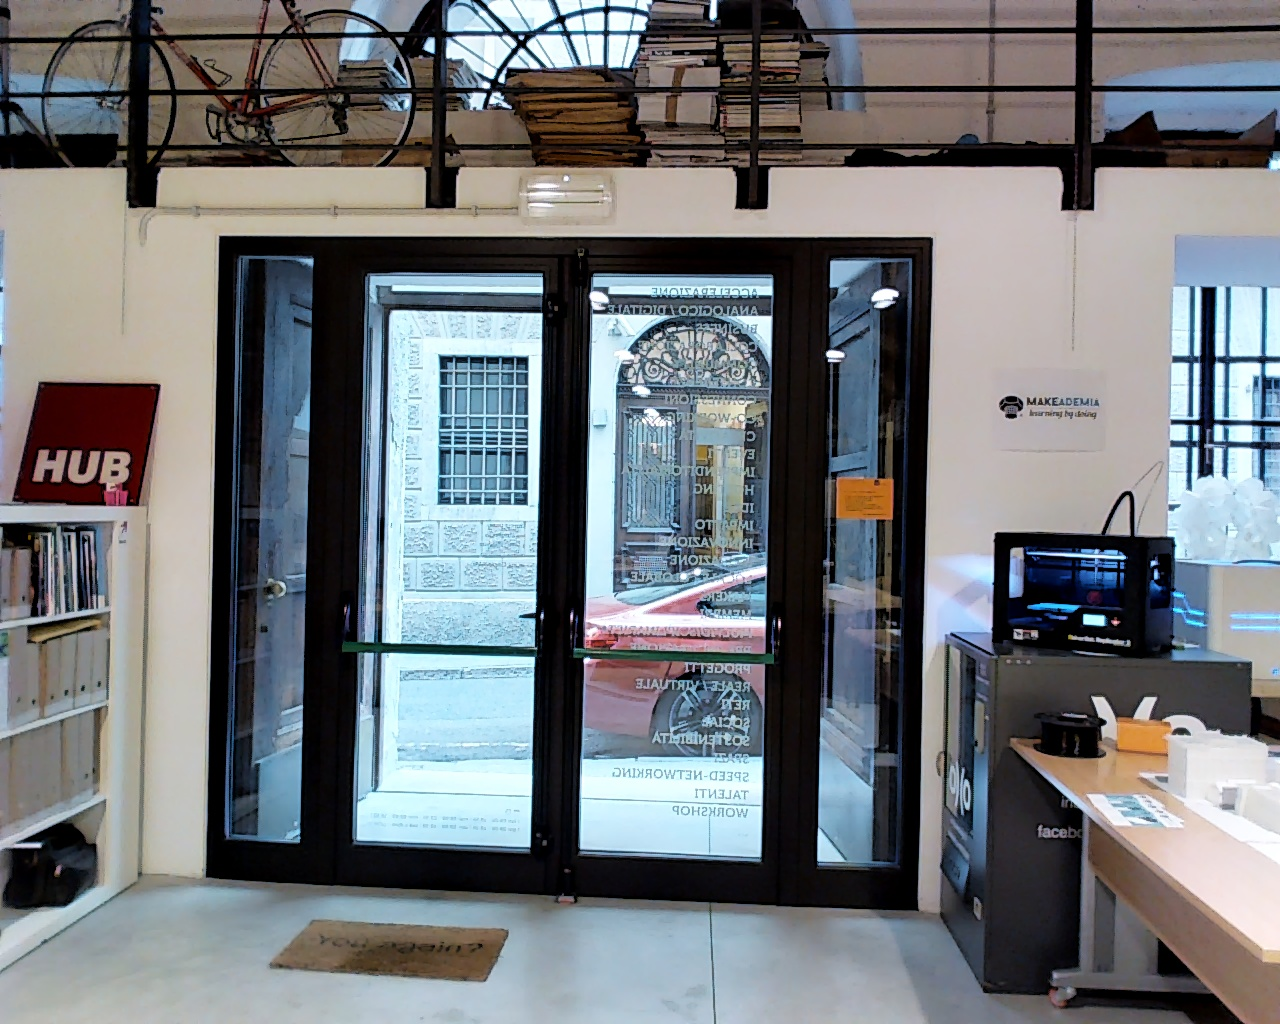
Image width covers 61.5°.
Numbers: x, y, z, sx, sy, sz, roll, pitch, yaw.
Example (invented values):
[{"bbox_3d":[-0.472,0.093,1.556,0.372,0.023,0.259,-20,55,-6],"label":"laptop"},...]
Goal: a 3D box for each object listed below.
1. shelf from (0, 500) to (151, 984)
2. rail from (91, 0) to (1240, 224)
[{"bbox_3d":[-2.169,0.690,3.580,0.530,1.460,1.070,1,0,3],"label":"shelf"},{"bbox_3d":[0.050,-1.771,4.020,4.099,1.270,0.340,1,0,3],"label":"rail"}]
